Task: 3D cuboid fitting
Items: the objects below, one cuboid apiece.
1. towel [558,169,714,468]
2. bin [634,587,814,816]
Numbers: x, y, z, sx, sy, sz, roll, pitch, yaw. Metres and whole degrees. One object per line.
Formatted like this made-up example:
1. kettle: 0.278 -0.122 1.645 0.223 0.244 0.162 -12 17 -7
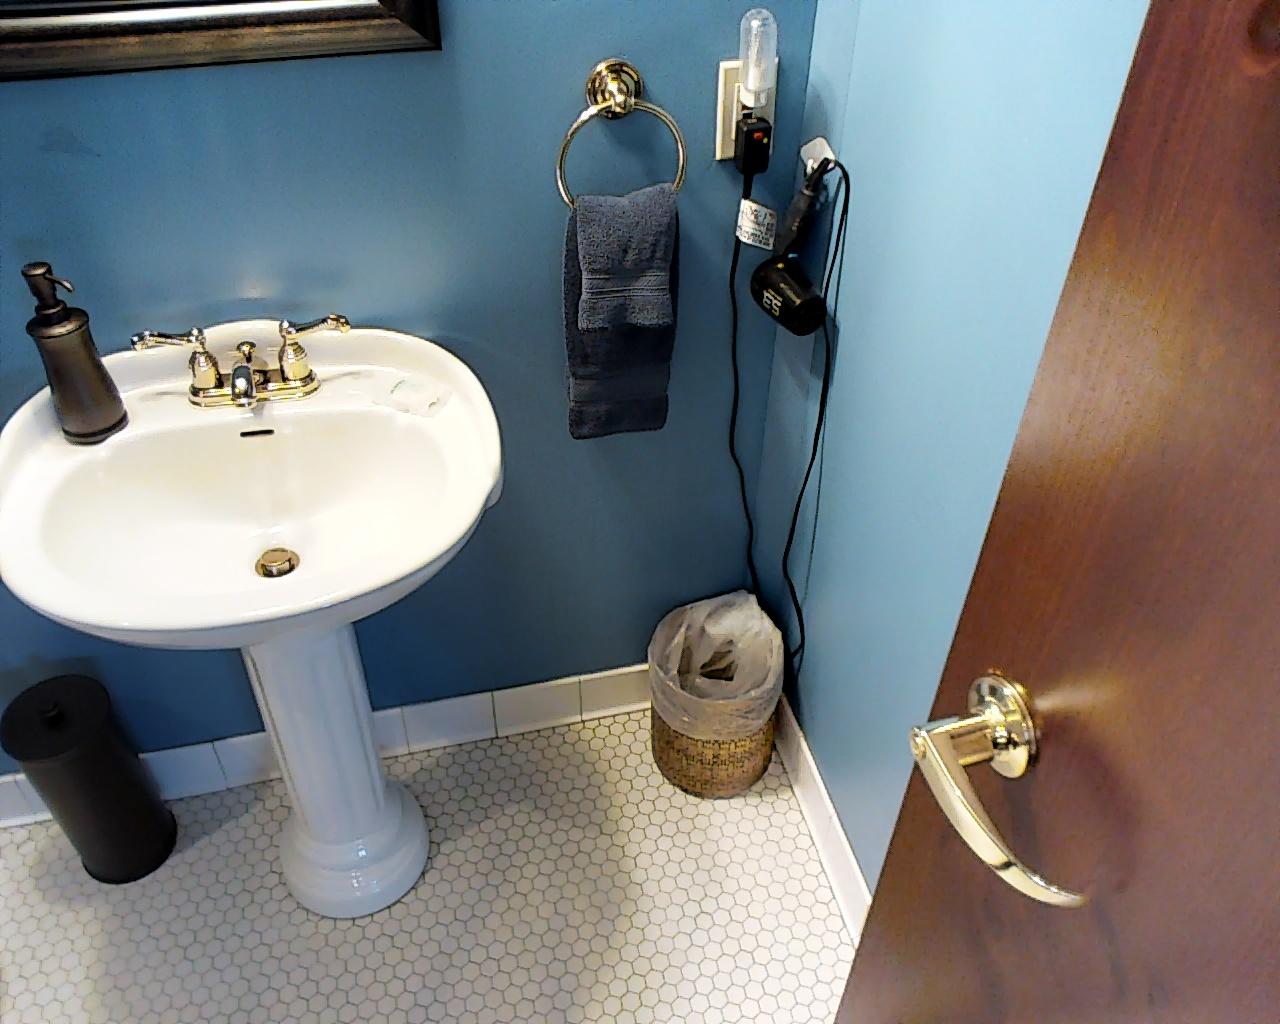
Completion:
1. towel: -0.010 -0.240 1.380 0.160 0.350 0.120 -8 43 -11
2. bin: 0.130 0.320 1.820 0.230 0.280 0.220 -8 43 -11
